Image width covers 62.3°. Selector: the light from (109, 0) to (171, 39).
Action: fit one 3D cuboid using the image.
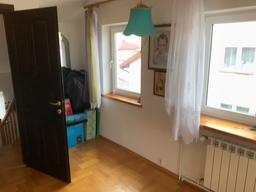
[{"bbox_3d":[0.130,-0.850,2.380,0.500,0.380,0.470,-10,17,-35],"label":"light"}]
